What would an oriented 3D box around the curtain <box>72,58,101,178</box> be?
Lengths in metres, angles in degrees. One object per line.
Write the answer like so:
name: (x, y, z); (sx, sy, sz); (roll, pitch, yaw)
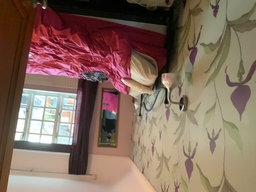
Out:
curtain: (-0.820, 0.410, 4.300); (0.320, 2.370, 0.140); (5, 171, -5)
